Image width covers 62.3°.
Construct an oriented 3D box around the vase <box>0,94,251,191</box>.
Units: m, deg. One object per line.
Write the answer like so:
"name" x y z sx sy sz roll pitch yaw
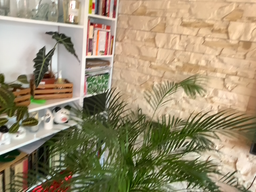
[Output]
"vase" -0.020 0.750 1.520 1.260 1.050 1.230 17 19 30
